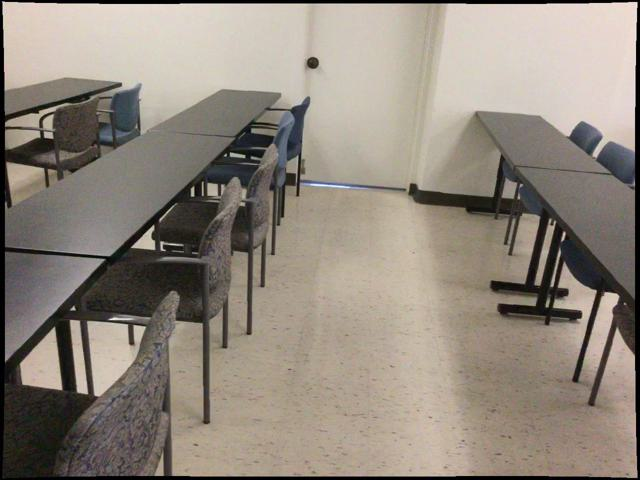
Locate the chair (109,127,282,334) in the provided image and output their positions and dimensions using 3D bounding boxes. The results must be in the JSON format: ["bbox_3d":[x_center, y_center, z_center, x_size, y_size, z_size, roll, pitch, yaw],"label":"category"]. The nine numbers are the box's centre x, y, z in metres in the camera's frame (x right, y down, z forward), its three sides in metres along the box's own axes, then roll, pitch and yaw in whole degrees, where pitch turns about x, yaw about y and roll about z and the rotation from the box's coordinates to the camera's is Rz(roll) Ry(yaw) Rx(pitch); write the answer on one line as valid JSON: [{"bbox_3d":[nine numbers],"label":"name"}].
[{"bbox_3d":[-0.529,-0.070,2.700,0.608,0.752,0.620,4,23,3],"label":"chair"}]

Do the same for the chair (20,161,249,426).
[{"bbox_3d":[-0.598,0.160,2.130,0.579,0.722,0.660,3,23,0],"label":"chair"}]

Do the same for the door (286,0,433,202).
[{"bbox_3d":[0.259,-1.163,4.180,0.958,1.734,0.190,5,23,5],"label":"door"}]

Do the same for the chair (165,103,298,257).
[{"bbox_3d":[-0.489,-0.381,3.450,0.658,0.722,0.650,3,23,0],"label":"chair"}]

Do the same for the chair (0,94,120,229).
[{"bbox_3d":[-1.676,-0.511,3.640,0.549,0.692,0.520,5,24,6],"label":"chair"}]
